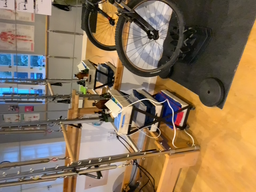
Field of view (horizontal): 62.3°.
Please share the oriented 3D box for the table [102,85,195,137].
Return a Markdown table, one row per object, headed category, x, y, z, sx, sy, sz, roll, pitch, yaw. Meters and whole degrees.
| category | x | y | z | sx | sy | sz | roll | pitch | yaw |
| --- | --- | --- | --- | --- | --- | --- | --- | --- | --- |
| table | 0.190 | 0.110 | 2.090 | 0.450 | 0.750 | 0.300 | 43 | 129 | 55 |
